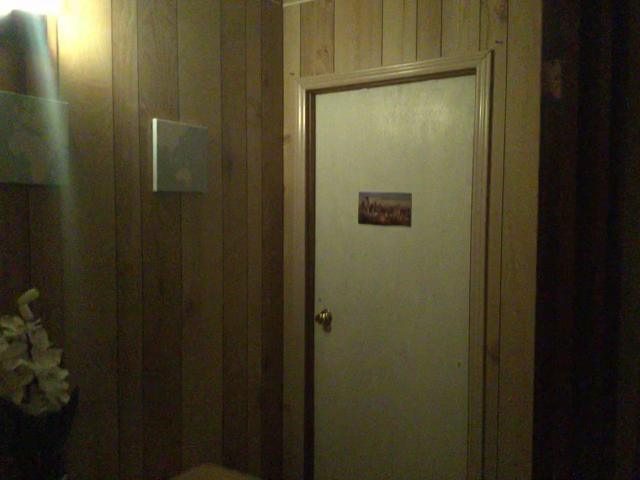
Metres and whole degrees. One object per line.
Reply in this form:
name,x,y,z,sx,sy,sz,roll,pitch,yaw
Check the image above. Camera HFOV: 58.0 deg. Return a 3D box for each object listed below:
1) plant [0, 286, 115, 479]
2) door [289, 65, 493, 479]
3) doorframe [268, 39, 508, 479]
plant,-0.770,0.450,1.610,0.180,0.610,0.290,-2,2,33
door,0.280,0.360,2.430,0.810,2.010,0.050,-3,2,32
doorframe,0.260,0.340,2.390,0.920,2.090,0.130,-3,2,32
